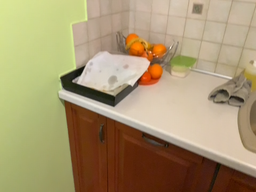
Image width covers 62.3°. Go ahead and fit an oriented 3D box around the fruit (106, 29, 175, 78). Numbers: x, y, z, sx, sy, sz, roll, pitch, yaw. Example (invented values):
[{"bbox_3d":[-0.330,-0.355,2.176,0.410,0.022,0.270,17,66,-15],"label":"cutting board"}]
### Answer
[{"bbox_3d":[0.070,-0.250,1.180,0.290,0.150,0.260,18,33,24],"label":"fruit"}]
